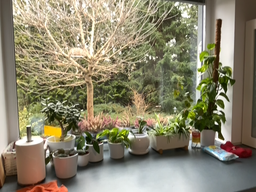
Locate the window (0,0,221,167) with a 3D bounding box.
[{"bbox_3d":[-0.030,-0.290,1.780,1.880,1.460,0.160,-2,6,-21],"label":"window"}]

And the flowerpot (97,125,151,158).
[{"bbox_3d":[-0.050,0.360,1.760,0.360,0.140,0.360,-2,5,-17],"label":"flowerpot"}]

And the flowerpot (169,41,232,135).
[{"bbox_3d":[0.650,-0.080,1.950,0.360,0.760,0.390,-3,6,-24],"label":"flowerpot"}]
